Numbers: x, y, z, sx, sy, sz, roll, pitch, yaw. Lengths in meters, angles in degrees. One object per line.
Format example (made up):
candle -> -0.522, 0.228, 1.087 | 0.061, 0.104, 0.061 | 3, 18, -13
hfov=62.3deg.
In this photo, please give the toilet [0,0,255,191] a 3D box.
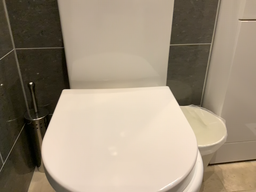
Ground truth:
toilet -> -0.020, 0.070, 0.650 | 0.410, 0.810, 0.630 | -3, 27, -7
